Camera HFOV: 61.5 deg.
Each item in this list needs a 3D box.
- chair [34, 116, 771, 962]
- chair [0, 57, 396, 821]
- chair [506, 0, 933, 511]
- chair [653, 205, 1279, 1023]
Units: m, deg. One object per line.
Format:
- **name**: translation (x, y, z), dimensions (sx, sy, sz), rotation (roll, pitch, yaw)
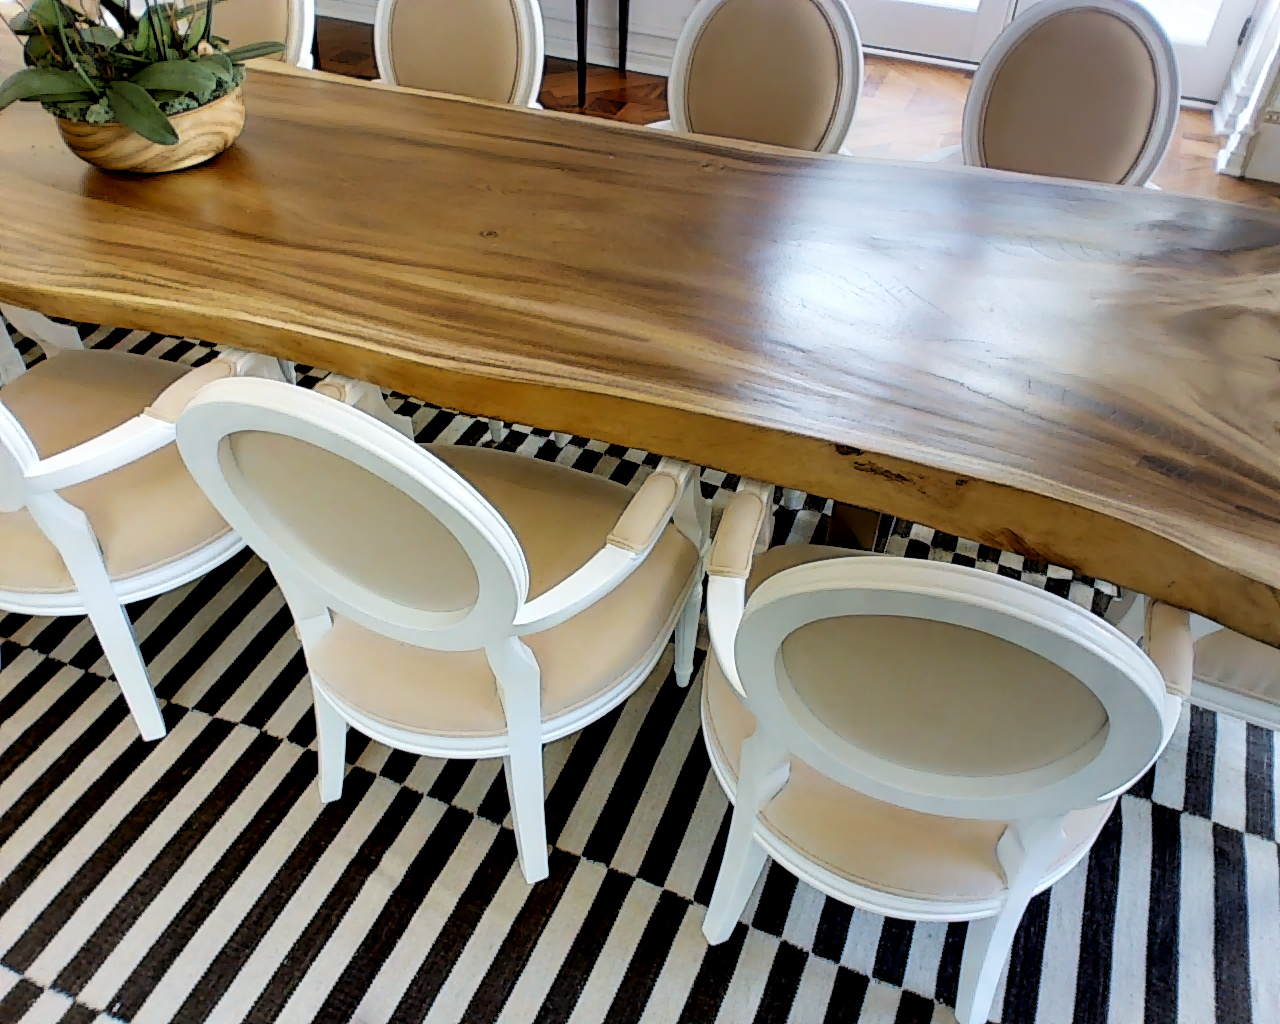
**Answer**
- **chair**: translation (-0.260, 0.050, 1.690), dimensions (0.660, 1.000, 0.670), rotation (16, 44, 15)
- **chair**: translation (-0.980, -0.130, 1.890), dimensions (0.710, 1.010, 0.710), rotation (13, 44, 12)
- **chair**: translation (0.190, -0.680, 2.510), dimensions (0.730, 1.030, 0.680), rotation (13, 44, 12)
- **chair**: translation (0.430, 0.240, 1.480), dimensions (0.600, 1.010, 0.640), rotation (16, 44, 15)
